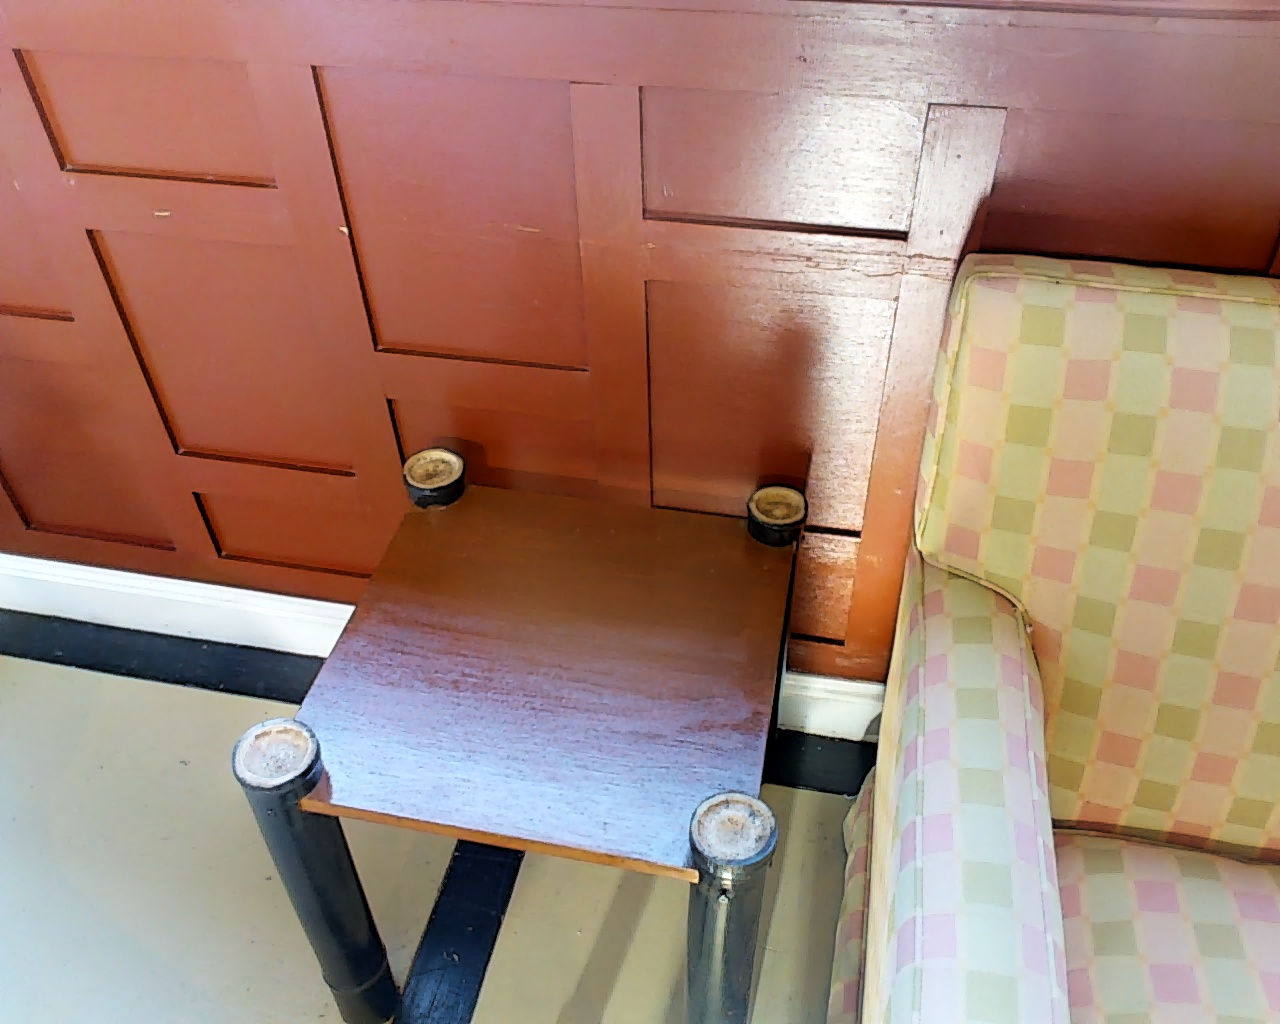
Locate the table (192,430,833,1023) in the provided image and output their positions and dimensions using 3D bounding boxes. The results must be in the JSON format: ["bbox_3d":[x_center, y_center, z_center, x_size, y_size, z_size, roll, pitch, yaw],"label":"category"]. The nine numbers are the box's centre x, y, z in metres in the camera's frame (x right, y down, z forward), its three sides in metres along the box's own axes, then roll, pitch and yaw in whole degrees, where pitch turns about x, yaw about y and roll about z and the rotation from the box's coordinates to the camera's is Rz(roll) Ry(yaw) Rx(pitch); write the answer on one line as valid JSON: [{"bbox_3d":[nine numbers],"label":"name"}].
[{"bbox_3d":[-0.080,0.290,1.260,0.520,0.500,0.530,7,43,9],"label":"table"}]
